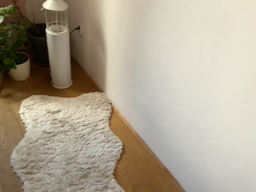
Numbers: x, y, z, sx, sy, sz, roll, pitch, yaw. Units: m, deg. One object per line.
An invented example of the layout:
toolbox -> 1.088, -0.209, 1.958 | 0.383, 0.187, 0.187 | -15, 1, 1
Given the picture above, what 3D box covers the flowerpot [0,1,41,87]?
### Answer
flowerpot -> -0.860, -0.370, 1.530 | 0.310, 0.510, 0.240 | -19, 50, -30
